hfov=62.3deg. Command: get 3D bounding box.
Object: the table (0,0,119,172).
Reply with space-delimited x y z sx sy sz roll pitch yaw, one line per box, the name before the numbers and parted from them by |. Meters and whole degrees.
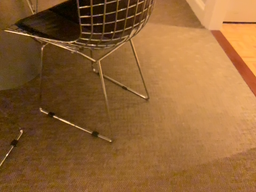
table | -0.760 -0.440 1.130 1.410 0.750 1.410 0 42 -2
